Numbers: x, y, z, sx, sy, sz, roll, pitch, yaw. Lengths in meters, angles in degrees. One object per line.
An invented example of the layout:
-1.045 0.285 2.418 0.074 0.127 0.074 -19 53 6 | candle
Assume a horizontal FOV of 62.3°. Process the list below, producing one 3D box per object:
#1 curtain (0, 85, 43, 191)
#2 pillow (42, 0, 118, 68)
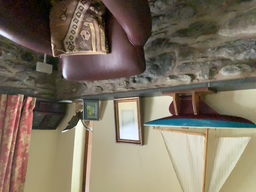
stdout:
-1.030 0.560 1.880 0.240 1.260 0.340 -5 169 43 | curtain
-0.300 -0.390 1.260 0.400 0.340 0.150 23 -172 38 | pillow
